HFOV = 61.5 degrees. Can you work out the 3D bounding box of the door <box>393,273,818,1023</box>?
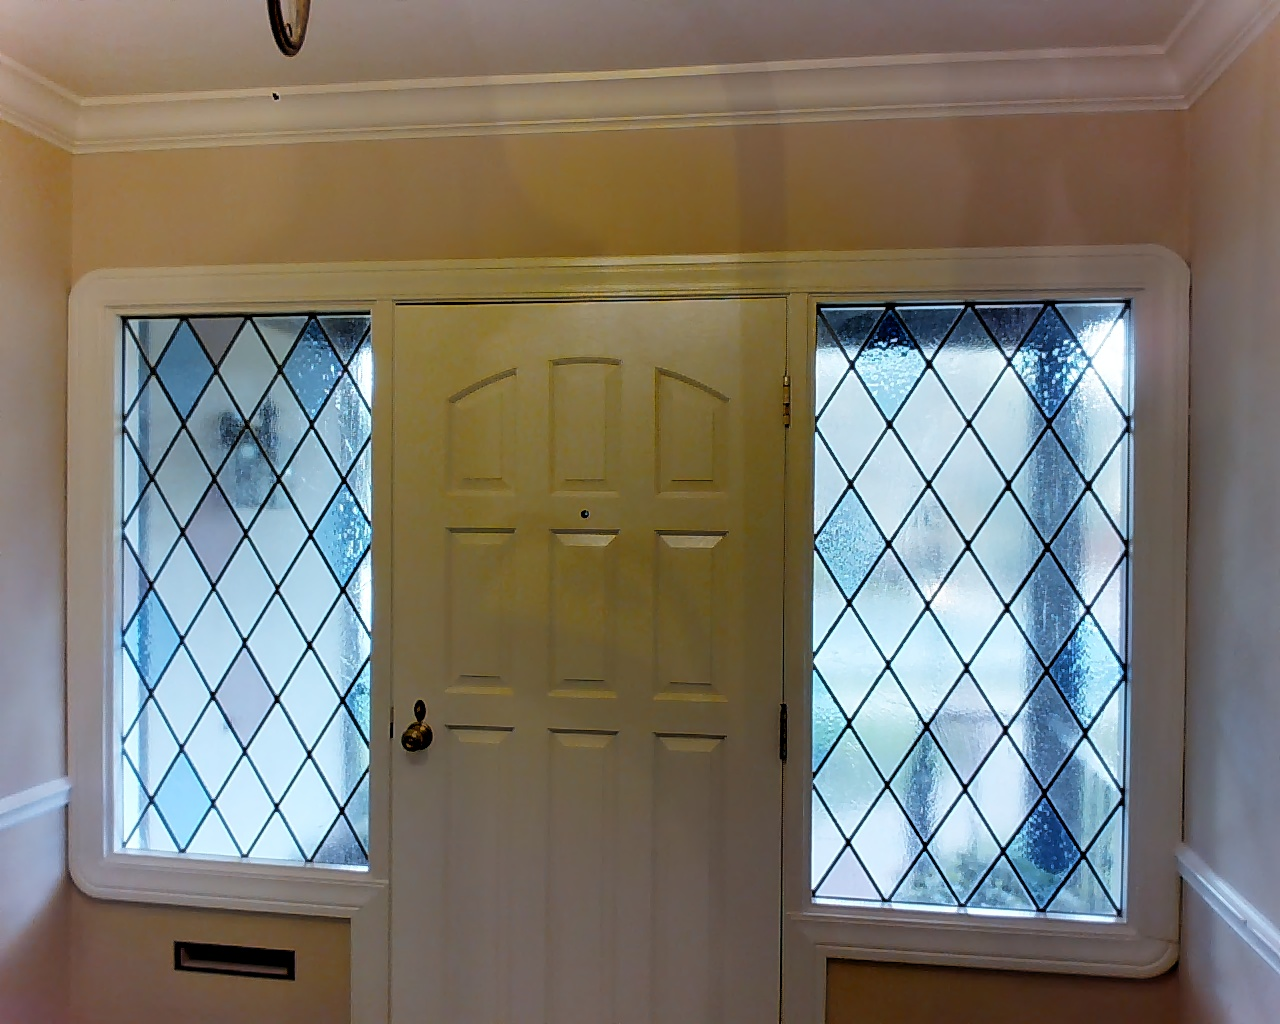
[{"bbox_3d":[-0.090,0.500,2.490,0.970,2.060,0.080,1,0,9],"label":"door"}]
